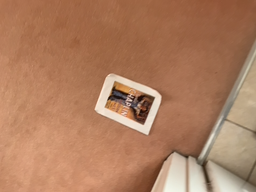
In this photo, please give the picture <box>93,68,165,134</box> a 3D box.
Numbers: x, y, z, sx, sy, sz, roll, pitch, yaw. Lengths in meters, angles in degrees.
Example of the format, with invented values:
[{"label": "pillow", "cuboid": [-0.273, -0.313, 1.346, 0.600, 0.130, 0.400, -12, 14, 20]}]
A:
[{"label": "picture", "cuboid": [0.000, 0.020, 0.990, 0.280, 0.030, 0.210, 24, 95, 14]}]
